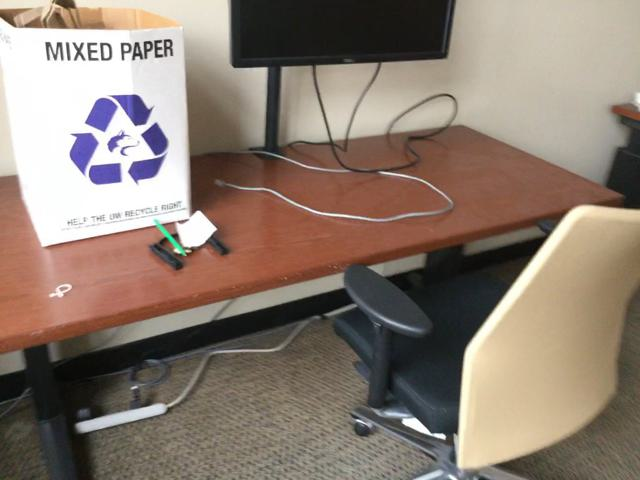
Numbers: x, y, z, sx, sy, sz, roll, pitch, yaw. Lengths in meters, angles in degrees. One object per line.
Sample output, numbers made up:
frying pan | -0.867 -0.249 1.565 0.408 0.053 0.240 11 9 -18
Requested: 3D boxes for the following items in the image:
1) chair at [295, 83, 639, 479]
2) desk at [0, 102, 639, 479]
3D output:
chair | 0.380 0.220 1.250 0.670 0.930 0.590 -12 31 -24
desk | -0.030 0.170 1.600 1.580 0.790 0.750 -12 31 -24
